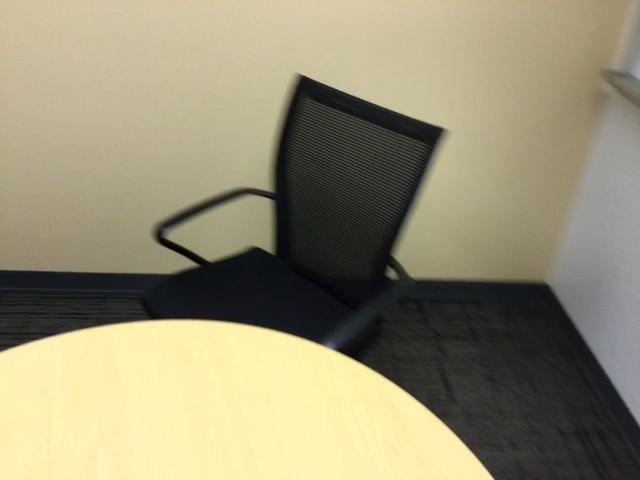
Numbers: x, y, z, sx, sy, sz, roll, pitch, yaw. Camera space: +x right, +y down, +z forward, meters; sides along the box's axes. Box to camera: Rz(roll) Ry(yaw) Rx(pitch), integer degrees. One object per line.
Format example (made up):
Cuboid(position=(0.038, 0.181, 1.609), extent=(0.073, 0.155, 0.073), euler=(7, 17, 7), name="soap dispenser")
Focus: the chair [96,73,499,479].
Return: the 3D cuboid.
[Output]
Cuboid(position=(-0.080, 0.160, 1.400), extent=(0.560, 0.900, 0.590), euler=(-24, 42, -39), name="chair")
